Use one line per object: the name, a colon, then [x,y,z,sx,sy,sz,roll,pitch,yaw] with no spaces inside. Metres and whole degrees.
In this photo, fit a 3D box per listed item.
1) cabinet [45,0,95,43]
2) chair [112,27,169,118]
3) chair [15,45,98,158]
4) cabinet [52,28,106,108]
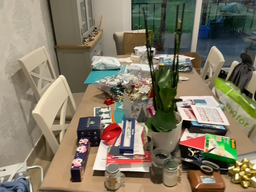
cabinet: [-0.690,-1.270,2.610,0.350,1.010,0.960,-1,27,0]
chair: [0.130,-0.320,2.660,0.450,0.940,0.600,-11,29,-19]
chair: [-0.580,0.060,1.940,0.480,0.950,0.400,0,27,1]
cabinet: [-0.620,-0.450,3.040,0.470,0.850,1.010,-1,27,0]
